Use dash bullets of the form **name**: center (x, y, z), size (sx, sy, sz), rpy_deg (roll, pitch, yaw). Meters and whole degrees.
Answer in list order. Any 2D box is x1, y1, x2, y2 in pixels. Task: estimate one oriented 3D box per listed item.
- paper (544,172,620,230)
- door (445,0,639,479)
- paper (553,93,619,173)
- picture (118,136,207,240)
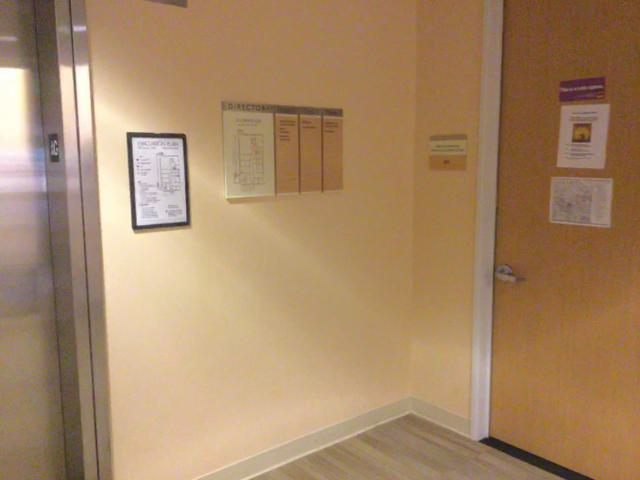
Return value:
- **paper**: center (1.110, -0.160, 2.460), size (0.070, 0.230, 0.280), rpy_deg (-11, 7, -40)
- **door**: center (1.100, -0.060, 2.460), size (0.160, 2.310, 0.870), rpy_deg (-11, 2, -40)
- **paper**: center (1.110, -0.440, 2.420), size (0.060, 0.300, 0.230), rpy_deg (-11, 7, -40)
- **picture**: center (-0.590, -0.200, 2.180), size (0.250, 0.360, 0.090), rpy_deg (-10, -1, -40)
